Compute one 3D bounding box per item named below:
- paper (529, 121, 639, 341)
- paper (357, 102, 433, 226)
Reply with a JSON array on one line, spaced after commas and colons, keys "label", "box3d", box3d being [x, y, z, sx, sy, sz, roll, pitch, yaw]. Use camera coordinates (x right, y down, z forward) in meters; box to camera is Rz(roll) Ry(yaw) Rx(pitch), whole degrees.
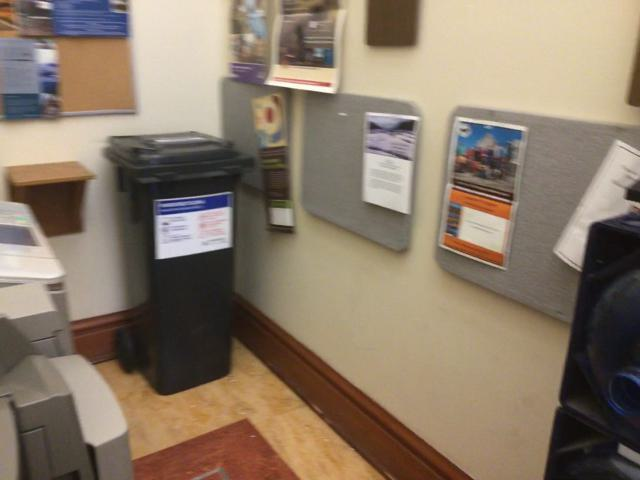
[{"label": "paper", "box3d": [0.590, -0.020, 1.130, 0.030, 0.330, 0.280, -7, 38, -32]}, {"label": "paper", "box3d": [0.210, -0.230, 1.690, 0.040, 0.330, 0.260, -7, 17, -32]}]
